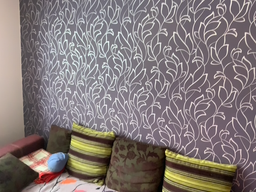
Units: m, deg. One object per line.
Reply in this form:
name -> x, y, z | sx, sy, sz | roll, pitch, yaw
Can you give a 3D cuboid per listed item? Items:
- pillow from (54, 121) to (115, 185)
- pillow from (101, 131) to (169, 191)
pillow -> -0.460, 0.580, 2.230 | 0.490, 0.430, 0.260 | 20, 16, 16
pillow -> 0.060, 0.660, 2.000 | 0.500, 0.460, 0.190 | 19, 16, 15
